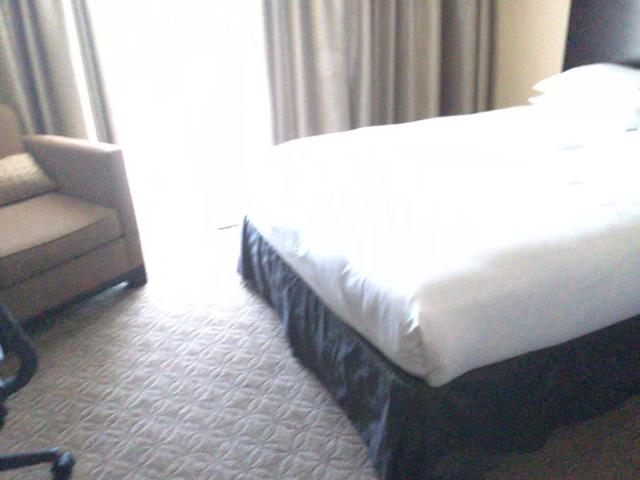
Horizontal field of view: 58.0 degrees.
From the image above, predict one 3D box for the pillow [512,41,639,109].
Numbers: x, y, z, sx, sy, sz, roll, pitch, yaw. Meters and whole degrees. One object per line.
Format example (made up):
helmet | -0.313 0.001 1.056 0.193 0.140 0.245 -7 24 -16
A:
pillow | 1.350 -0.810 2.770 0.510 0.200 0.640 -13 25 -21
